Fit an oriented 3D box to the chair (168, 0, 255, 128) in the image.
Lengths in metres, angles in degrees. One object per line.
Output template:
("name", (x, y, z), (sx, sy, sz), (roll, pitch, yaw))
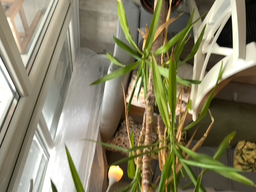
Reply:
("chair", (0.560, -0.330, 1.150), (0.530, 0.880, 0.410), (8, 147, -6))
